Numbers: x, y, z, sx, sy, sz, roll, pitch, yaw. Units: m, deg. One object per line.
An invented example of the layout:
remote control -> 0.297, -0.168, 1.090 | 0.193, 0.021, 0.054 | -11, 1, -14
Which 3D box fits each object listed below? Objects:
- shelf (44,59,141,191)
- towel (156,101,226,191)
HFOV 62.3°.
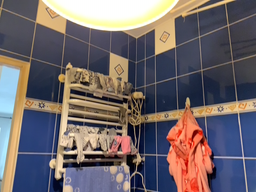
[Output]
shelf -> -0.200, 0.340, 1.410 | 0.560, 1.010, 0.250 | 15, -20, -42
towel -> 0.360, 0.570, 1.250 | 0.150, 1.020, 0.370 | 15, -20, -41
